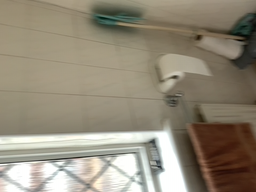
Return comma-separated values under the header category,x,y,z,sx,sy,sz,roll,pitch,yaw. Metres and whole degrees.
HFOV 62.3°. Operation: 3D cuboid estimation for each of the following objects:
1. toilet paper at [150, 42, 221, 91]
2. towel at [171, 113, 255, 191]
category,x,y,z,sx,sy,sz,roll,pitch,yaw
toilet paper,0.290,-0.140,1.070,0.110,0.320,0.180,-45,49,50
towel,0.460,0.280,0.930,0.110,0.450,0.400,-52,44,46
